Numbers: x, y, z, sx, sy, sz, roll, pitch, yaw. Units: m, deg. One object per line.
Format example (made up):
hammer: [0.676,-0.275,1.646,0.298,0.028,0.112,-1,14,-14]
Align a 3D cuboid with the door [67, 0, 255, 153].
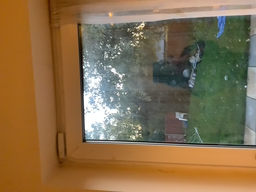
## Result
door: [0.690,-0.070,0.920,0.030,1.940,0.670,-51,-39,-78]
